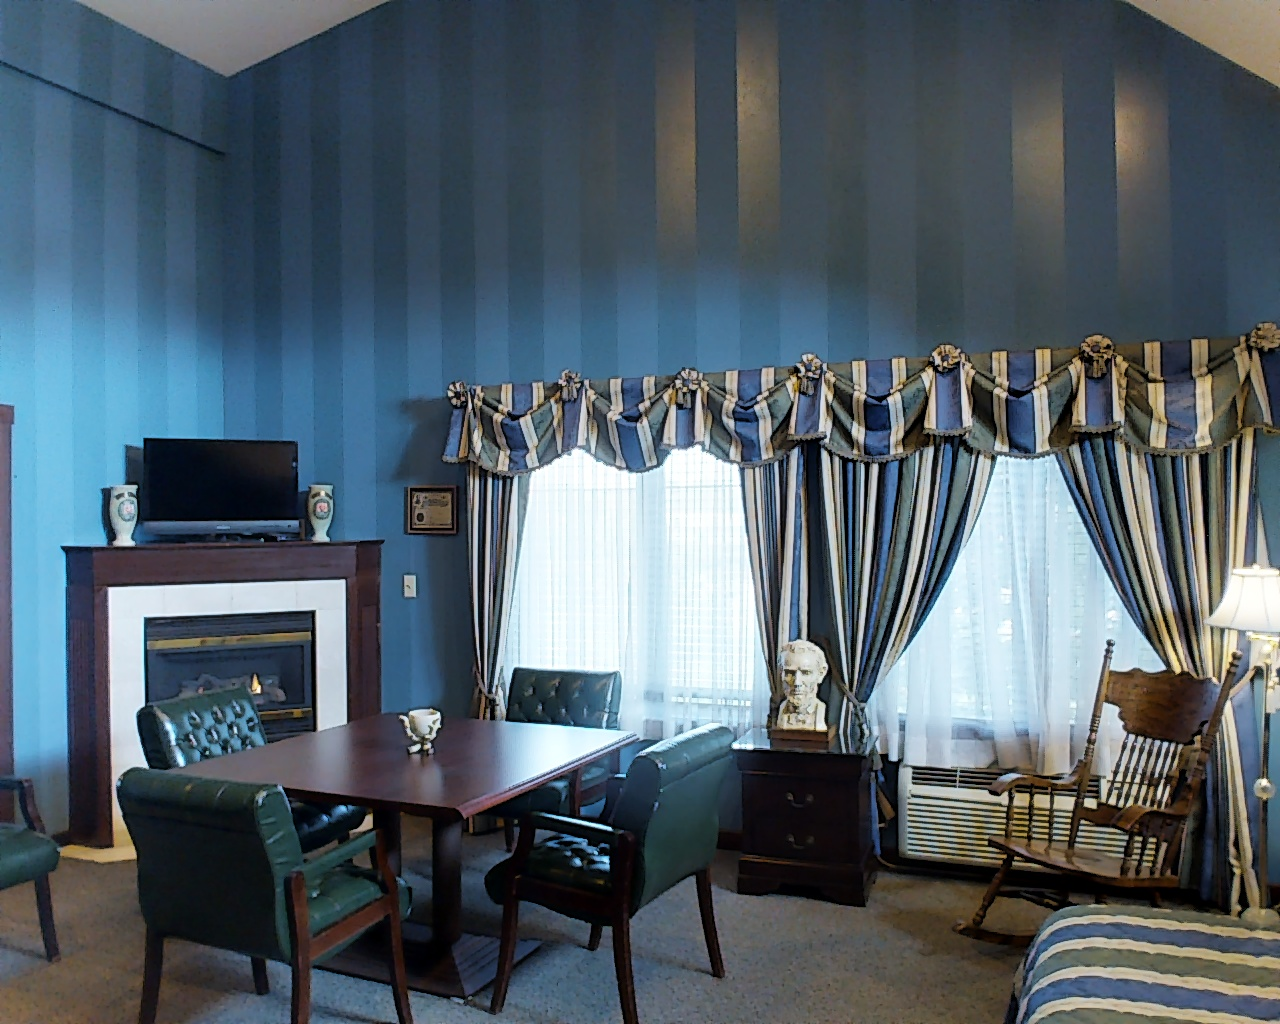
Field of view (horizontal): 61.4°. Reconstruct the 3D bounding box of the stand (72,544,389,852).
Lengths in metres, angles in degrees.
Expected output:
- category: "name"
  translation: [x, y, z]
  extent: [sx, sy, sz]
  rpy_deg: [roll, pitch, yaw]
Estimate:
- category: "stand"
  translation: [-2.070, 0.890, 5.530]
  extent: [1.460, 1.410, 0.350]
  rpy_deg: [-1, -1, -24]
